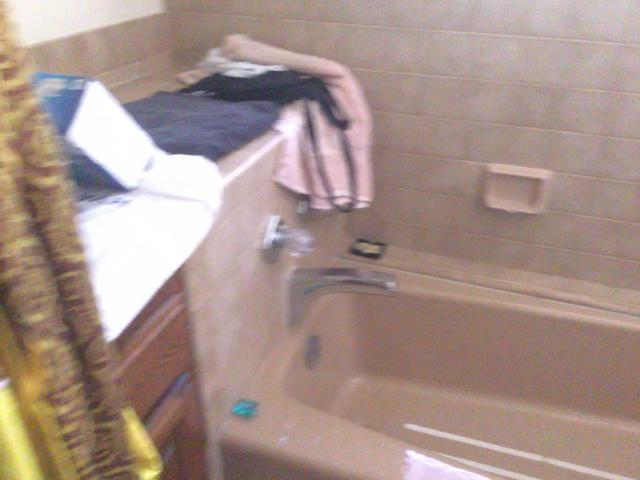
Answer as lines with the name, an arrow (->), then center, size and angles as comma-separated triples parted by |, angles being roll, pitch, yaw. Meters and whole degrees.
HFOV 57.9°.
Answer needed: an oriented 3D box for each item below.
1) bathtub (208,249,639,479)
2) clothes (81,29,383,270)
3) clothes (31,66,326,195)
bathtub -> 0.740, 0.480, 1.280 | 1.740, 0.330, 0.810 | 8, 31, 18
clothes -> -0.170, -0.260, 1.440 | 0.550, 0.420, 0.450 | 8, 31, 18
clothes -> -0.250, -0.260, 1.220 | 0.360, 0.070, 0.560 | 8, 31, 18
